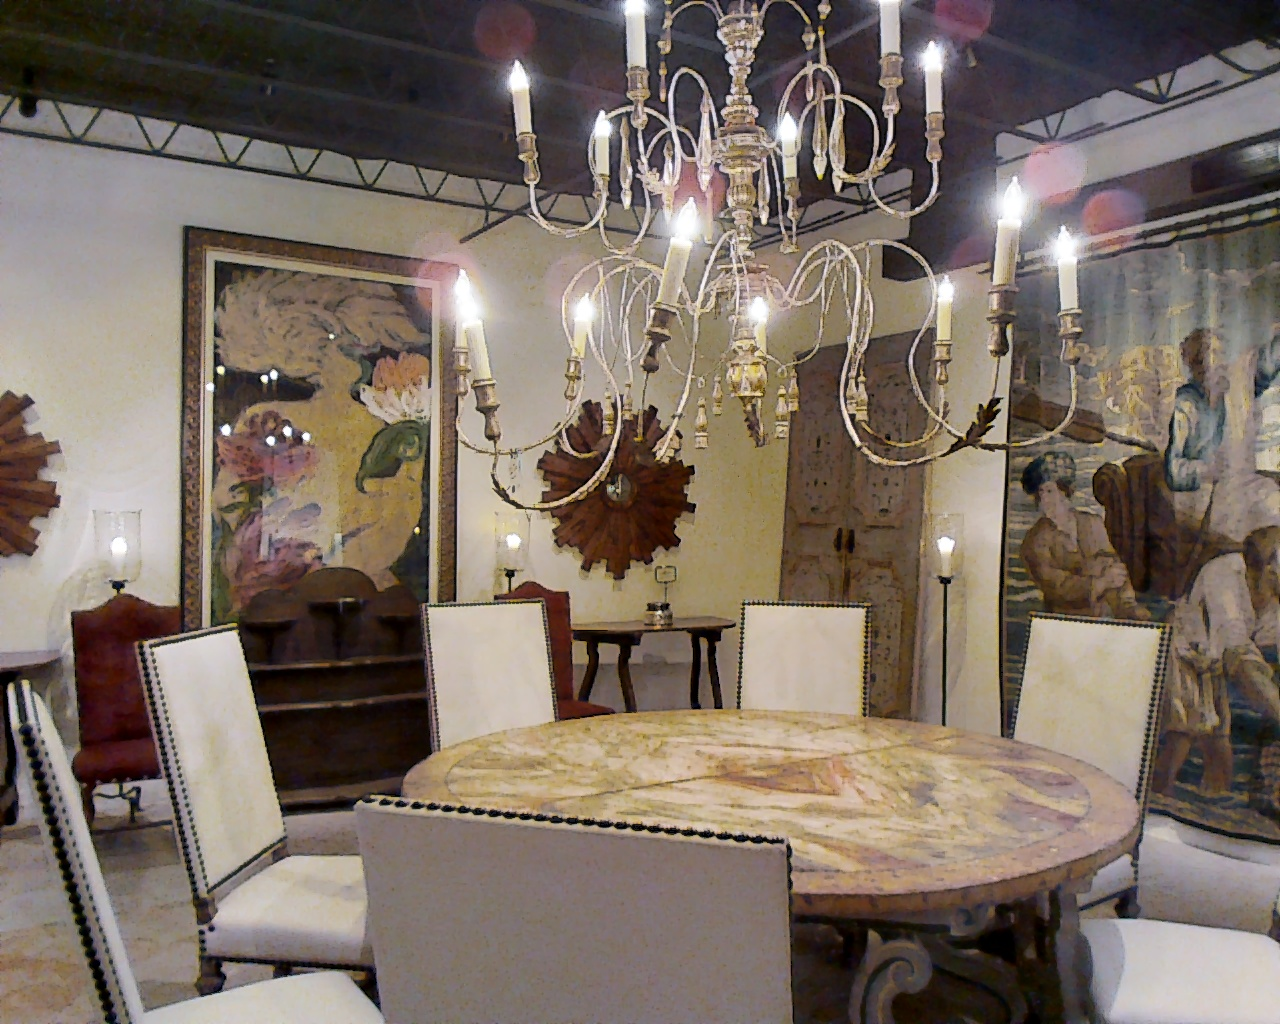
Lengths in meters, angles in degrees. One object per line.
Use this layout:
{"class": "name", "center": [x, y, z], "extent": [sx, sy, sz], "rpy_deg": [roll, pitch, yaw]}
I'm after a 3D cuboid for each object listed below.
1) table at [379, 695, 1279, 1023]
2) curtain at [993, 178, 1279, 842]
{"class": "table", "center": [0.310, 1.060, 2.830], "extent": [1.820, 0.800, 1.810], "rpy_deg": [0, 0, -10]}
{"class": "curtain", "center": [2.730, -0.010, 4.390], "extent": [0.110, 2.740, 3.080], "rpy_deg": [0, 0, -32]}
